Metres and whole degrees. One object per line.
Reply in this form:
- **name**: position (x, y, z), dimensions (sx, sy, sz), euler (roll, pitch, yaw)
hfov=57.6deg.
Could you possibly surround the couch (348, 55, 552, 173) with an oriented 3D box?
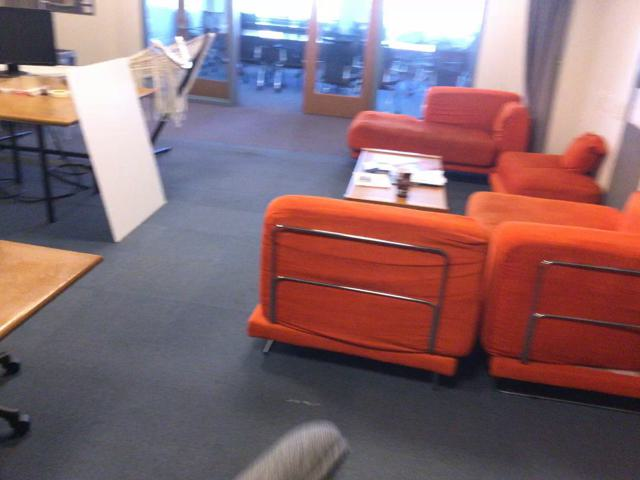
- **couch**: position (1.090, -1.140, 5.070), dimensions (1.520, 0.670, 0.940), euler (8, 27, 10)

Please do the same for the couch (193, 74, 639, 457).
- **couch**: position (0.670, -0.080, 2.750), dimensions (1.940, 0.940, 1.670), euler (8, 27, 10)

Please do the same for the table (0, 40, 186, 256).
- **table**: position (-2.010, -0.710, 3.760), dimensions (1.810, 0.890, 1.330), euler (8, 27, 10)

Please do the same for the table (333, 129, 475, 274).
- **table**: position (0.600, -0.330, 3.900), dimensions (0.760, 0.420, 1.340), euler (8, 27, 10)
